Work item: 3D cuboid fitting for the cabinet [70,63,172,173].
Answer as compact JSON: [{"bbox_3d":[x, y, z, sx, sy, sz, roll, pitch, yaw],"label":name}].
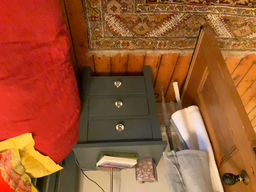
[{"bbox_3d":[-0.070,0.160,1.500,0.540,0.590,0.510,-1,145,-6],"label":"cabinet"}]
